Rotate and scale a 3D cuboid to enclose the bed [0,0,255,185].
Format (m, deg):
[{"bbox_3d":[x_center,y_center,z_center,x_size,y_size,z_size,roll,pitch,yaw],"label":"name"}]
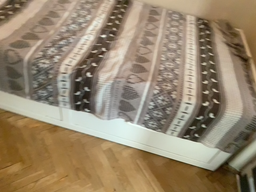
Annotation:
[{"bbox_3d":[-0.220,-0.250,1.540,2.080,0.570,0.970,17,46,2],"label":"bed"}]
